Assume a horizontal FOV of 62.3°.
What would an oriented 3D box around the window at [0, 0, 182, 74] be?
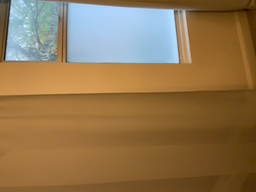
[{"bbox_3d":[-0.360,-0.760,2.170,0.050,1.780,1.090,123,145,-75],"label":"window"}]
